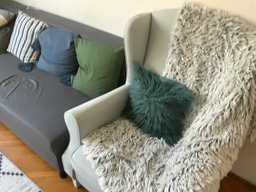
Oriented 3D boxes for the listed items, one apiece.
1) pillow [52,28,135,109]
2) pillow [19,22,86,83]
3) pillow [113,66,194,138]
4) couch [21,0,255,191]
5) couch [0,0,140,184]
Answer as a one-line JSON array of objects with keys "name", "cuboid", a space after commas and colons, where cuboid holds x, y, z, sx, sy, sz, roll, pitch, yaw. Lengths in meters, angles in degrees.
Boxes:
[{"name": "pillow", "cuboid": [-0.240, -0.200, 1.580, 0.470, 0.410, 0.240, 32, 72, 28]}, {"name": "pillow", "cuboid": [-0.620, -0.360, 1.770, 0.460, 0.360, 0.150, 30, 68, 28]}, {"name": "pillow", "cuboid": [0.150, 0.040, 1.250, 0.420, 0.310, 0.130, 26, 67, 26]}, {"name": "couch", "cuboid": [0.130, 0.160, 1.230, 0.800, 1.070, 0.830, 27, 44, 26]}, {"name": "couch", "cuboid": [-1.040, -0.330, 1.980, 2.140, 0.790, 0.840, 27, 44, 26]}]
